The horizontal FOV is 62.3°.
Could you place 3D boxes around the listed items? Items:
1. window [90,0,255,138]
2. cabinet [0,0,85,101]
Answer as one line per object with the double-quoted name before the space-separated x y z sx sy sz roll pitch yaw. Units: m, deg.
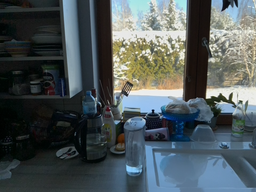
"window" 0.510 -0.490 1.530 1.510 1.570 0.280 0 12 3
"cabinet" -0.610 -0.470 1.220 0.610 0.960 0.290 0 12 2
